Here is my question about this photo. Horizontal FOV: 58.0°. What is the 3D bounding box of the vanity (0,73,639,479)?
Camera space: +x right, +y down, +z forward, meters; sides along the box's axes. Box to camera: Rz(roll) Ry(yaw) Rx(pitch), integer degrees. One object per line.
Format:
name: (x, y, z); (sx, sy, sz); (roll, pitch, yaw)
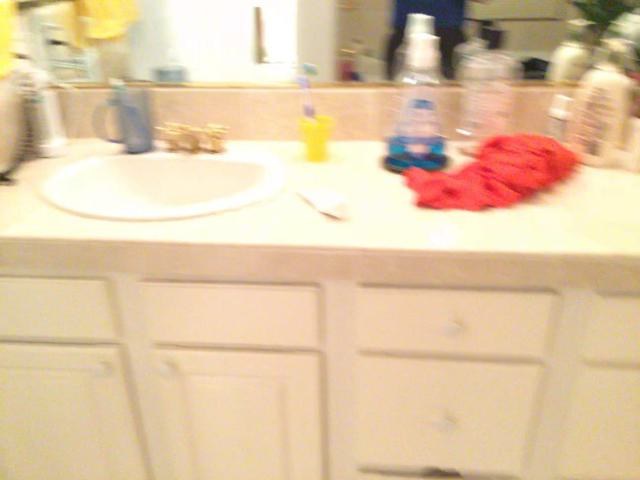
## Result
vanity: (0.430, 0.230, 1.240); (2.320, 1.060, 0.560); (1, 24, 6)
